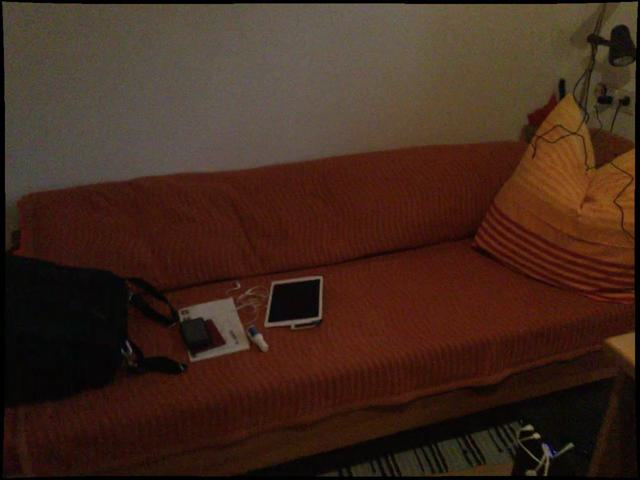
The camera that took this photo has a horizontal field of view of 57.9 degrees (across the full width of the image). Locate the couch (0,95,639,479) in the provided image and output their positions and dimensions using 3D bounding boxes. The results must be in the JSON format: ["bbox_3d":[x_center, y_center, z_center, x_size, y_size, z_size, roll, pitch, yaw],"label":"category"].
[{"bbox_3d":[0.040,0.130,1.910,2.378,0.931,1.240,-8,20,-16],"label":"couch"}]

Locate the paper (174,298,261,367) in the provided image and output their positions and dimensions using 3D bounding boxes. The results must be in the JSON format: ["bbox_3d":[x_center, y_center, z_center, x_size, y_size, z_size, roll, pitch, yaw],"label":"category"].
[{"bbox_3d":[-0.290,0.250,1.610,0.180,0.060,0.230,-11,21,-22],"label":"paper"}]
